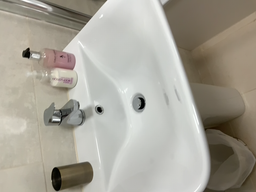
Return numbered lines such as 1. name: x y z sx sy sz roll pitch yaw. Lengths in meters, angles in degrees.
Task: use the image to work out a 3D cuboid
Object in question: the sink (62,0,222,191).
1. sink: 0.000 0.010 0.670 0.320 0.210 0.560 -30 67 42
